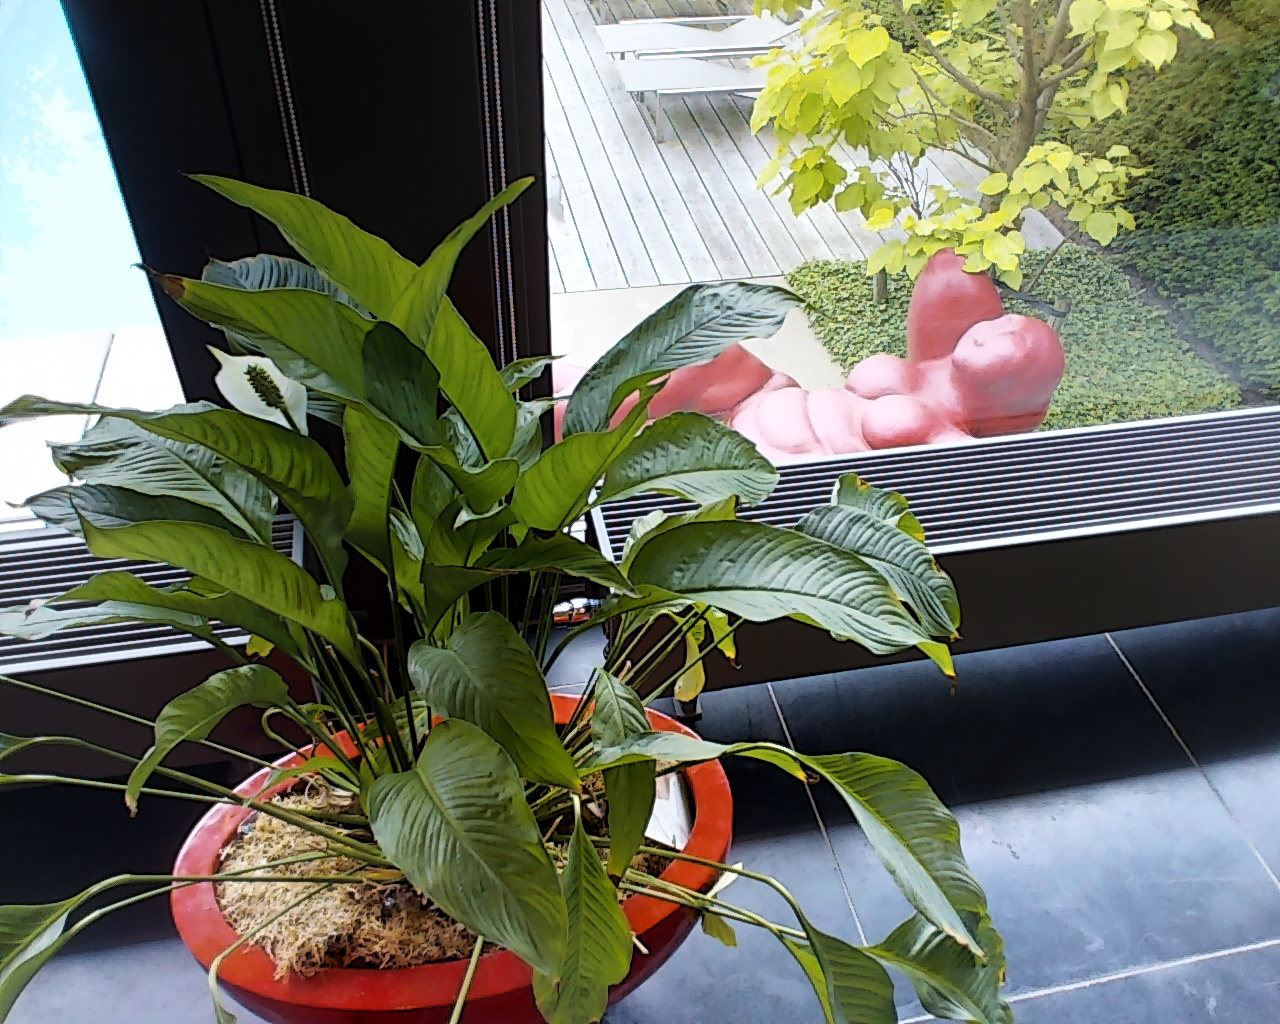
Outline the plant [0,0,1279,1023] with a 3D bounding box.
[{"bbox_3d":[-0.170,0.210,0.960,1.290,1.090,1.020,-6,43,-10],"label":"plant"}]
